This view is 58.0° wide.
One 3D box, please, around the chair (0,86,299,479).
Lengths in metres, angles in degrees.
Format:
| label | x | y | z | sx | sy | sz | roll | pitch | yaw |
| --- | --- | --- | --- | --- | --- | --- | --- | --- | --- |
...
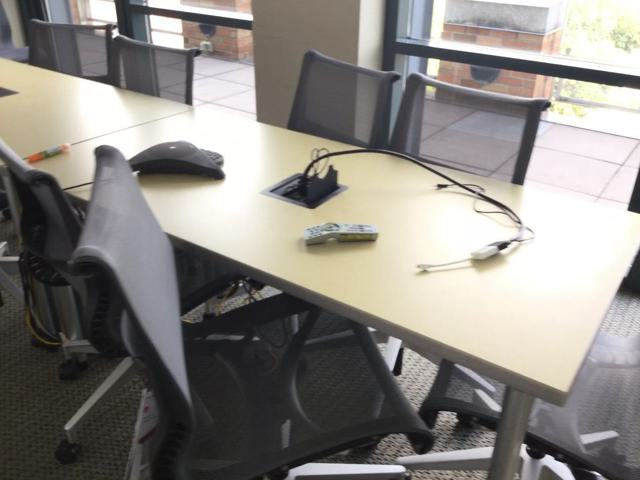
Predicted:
| label | x | y | z | sx | sy | sz | roll | pitch | yaw |
| --- | --- | --- | --- | --- | --- | --- | --- | --- | --- |
| chair | -0.520 | 0.140 | 1.550 | 0.640 | 0.890 | 0.670 | 25 | 36 | 37 |

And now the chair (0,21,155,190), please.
| label | x | y | z | sx | sy | sz | roll | pitch | yaw |
| --- | --- | --- | --- | --- | --- | --- | --- | --- | --- |
| chair | -1.230 | -0.650 | 2.640 | 0.590 | 0.560 | 0.670 | 10 | 29 | 17 |
